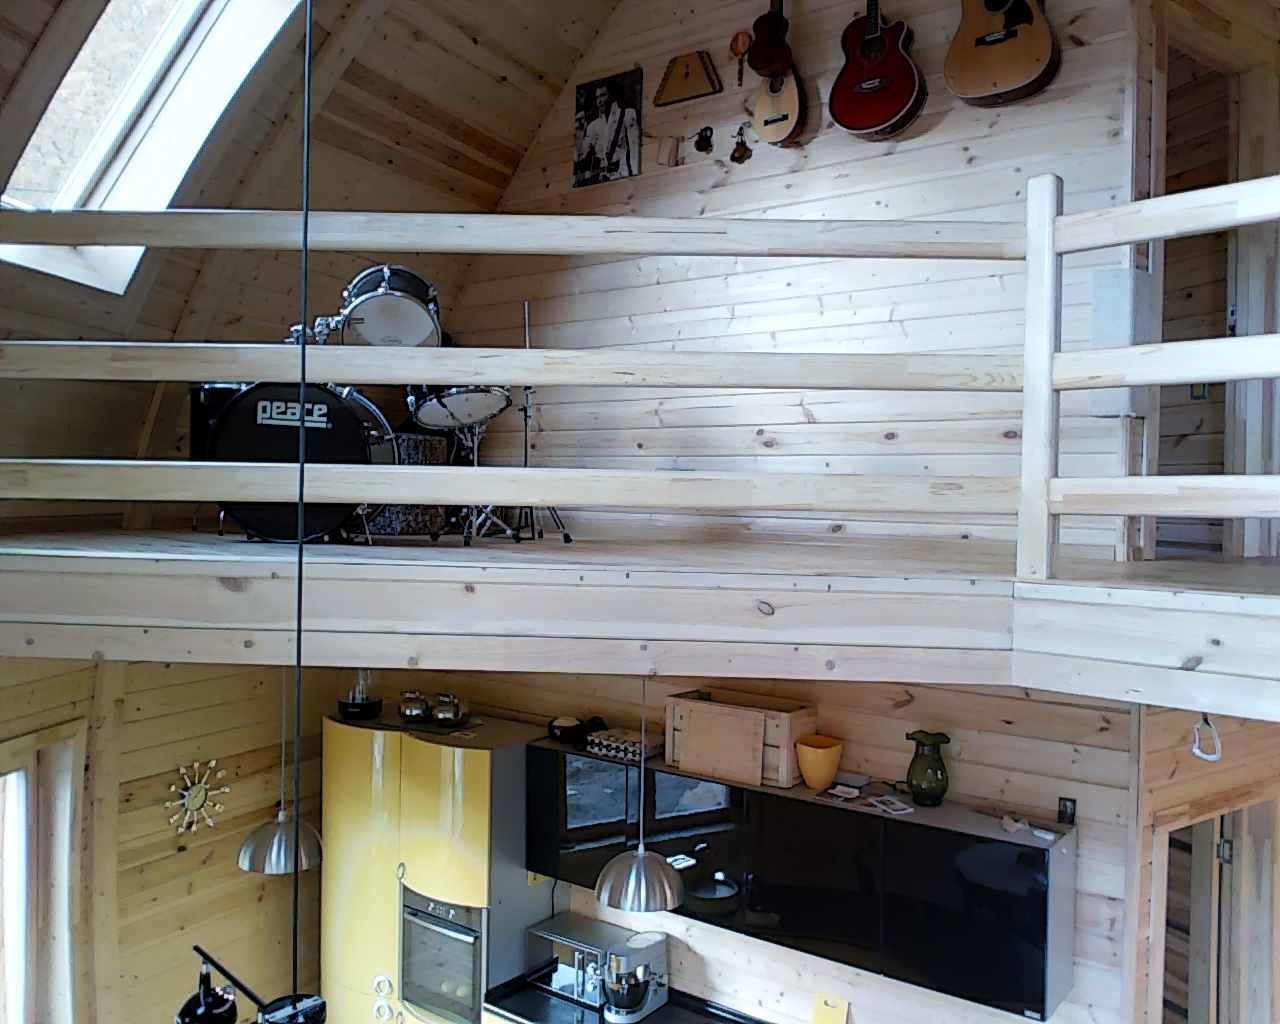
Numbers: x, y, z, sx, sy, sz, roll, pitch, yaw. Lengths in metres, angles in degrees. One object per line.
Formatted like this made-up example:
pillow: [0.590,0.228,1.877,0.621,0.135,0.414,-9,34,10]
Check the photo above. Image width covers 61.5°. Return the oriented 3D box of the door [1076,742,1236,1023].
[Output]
door: [2.299,2.181,4.870,0.060,2.101,0.840,1,1,-18]
